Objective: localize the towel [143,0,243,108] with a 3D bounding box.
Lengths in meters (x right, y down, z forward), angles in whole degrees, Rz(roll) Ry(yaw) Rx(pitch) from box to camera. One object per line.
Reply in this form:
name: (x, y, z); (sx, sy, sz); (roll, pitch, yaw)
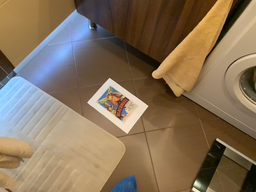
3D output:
towel: (0.240, -0.150, 1.000); (0.200, 0.640, 0.130); (33, 70, 8)
